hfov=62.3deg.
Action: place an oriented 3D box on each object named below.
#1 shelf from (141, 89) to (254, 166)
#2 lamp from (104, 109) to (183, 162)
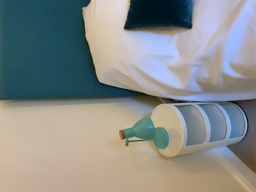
[{"bbox_3d":[0.460,0.200,1.460,0.350,0.570,0.350,-54,46,48],"label":"shelf"},{"bbox_3d":[0.080,0.220,1.210,0.250,0.340,0.170,-55,46,47],"label":"lamp"}]
